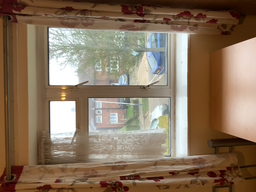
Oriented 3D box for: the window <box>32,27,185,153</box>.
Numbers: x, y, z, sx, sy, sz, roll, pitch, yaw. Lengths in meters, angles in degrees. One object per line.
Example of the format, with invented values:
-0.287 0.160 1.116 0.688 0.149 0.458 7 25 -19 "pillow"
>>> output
-0.110 -0.050 1.490 0.030 1.050 0.830 166 103 -80 "window"
